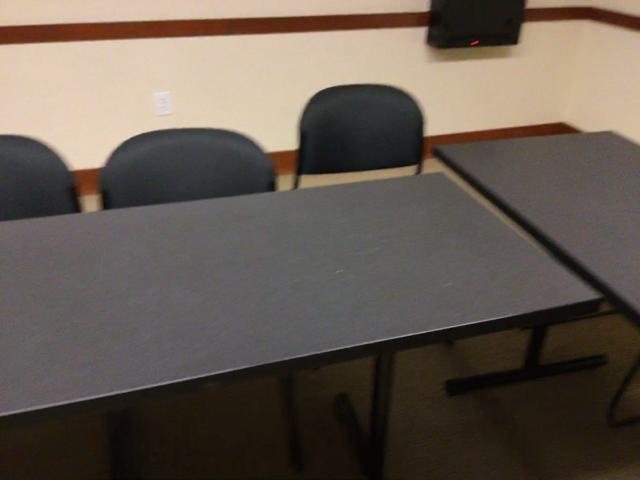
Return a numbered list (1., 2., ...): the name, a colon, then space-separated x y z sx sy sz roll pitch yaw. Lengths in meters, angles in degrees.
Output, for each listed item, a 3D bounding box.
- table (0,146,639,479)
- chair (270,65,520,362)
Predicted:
1. table: -0.430 0.080 1.040 1.890 0.110 0.740 -10 28 -21
2. chair: 0.190 -0.130 1.930 0.540 0.760 0.580 -10 28 -21
